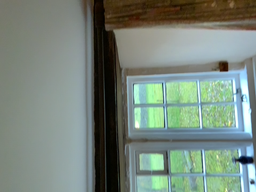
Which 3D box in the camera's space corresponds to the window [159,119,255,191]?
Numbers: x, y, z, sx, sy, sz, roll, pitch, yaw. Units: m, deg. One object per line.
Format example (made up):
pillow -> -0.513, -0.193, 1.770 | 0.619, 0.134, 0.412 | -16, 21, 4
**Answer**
window -> 0.680, 0.660, 1.560 | 0.130, 0.860, 0.960 | 64, -155, -80
